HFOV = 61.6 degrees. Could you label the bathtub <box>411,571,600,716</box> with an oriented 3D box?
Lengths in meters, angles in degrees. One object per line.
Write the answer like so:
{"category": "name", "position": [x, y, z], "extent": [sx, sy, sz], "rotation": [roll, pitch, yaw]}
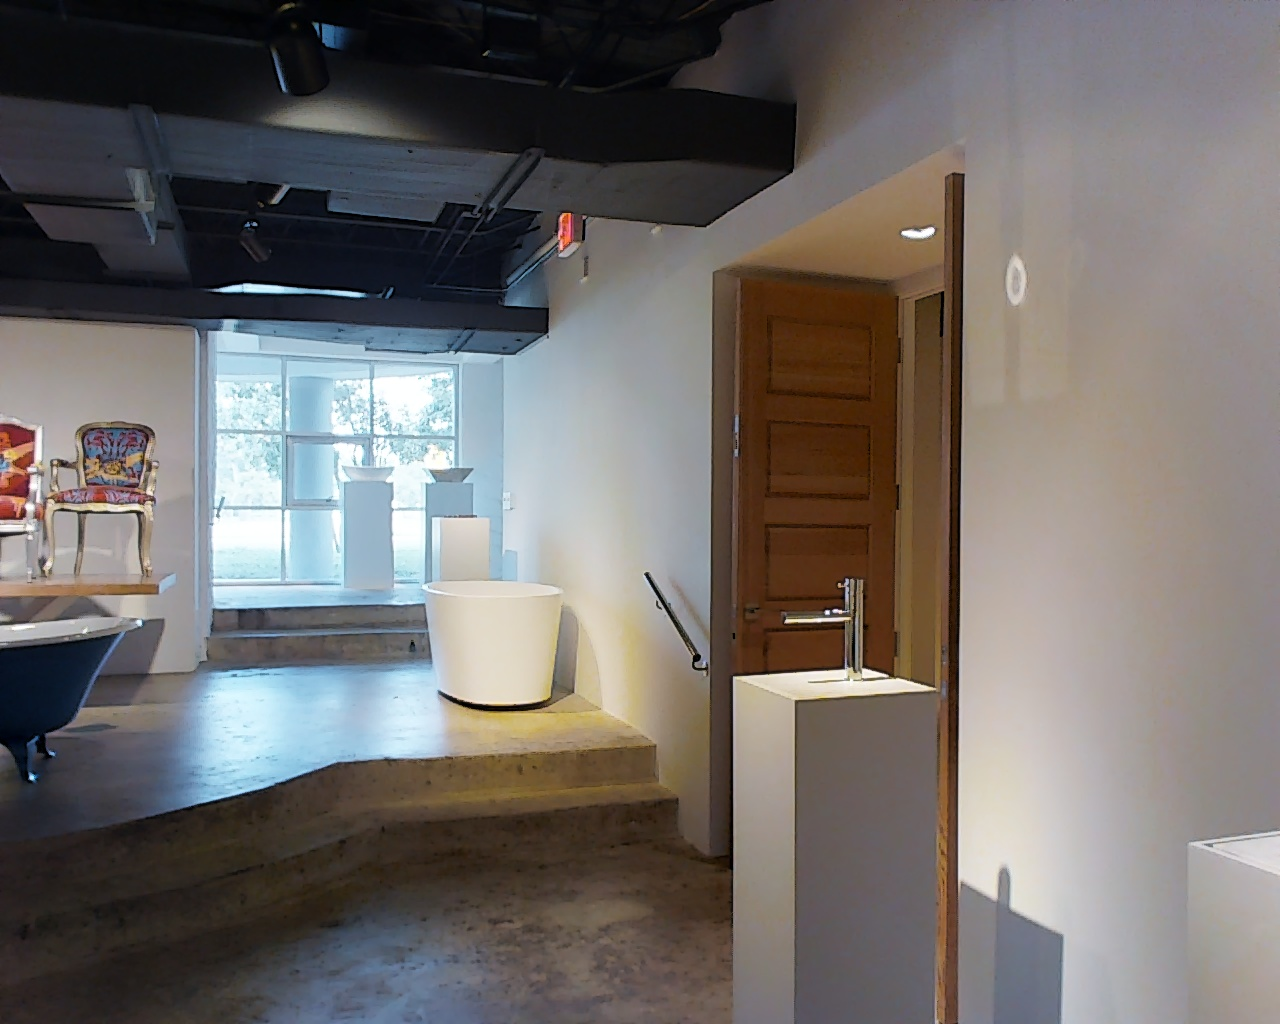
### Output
{"category": "bathtub", "position": [-0.880, 0.750, 6.610], "extent": [0.850, 0.680, 1.550], "rotation": [1, 0, -19]}

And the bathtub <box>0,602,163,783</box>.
{"category": "bathtub", "position": [-2.980, 0.740, 4.470], "extent": [1.750, 0.630, 0.810], "rotation": [1, 0, -19]}
